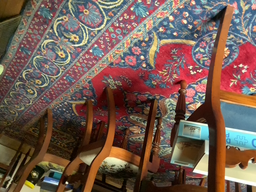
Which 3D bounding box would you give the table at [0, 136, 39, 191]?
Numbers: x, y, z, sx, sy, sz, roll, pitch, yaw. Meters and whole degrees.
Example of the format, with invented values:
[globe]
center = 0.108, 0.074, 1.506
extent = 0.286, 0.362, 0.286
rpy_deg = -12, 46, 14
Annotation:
[table]
center = -2.020, 1.010, 3.070
extent = 1.030, 0.770, 0.490
rpy_deg = 33, 142, -23
